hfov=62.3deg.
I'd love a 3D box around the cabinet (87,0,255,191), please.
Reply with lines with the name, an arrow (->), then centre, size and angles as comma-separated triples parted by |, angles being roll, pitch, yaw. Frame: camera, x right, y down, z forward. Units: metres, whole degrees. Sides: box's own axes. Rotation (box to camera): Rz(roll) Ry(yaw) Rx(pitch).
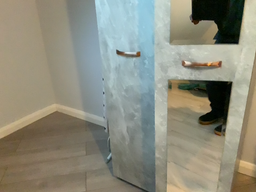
cabinet -> 0.290, -0.290, 1.190 | 0.800, 1.900, 0.560 | 13, 28, 32
